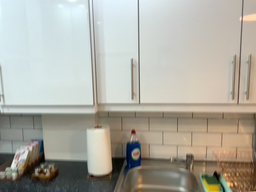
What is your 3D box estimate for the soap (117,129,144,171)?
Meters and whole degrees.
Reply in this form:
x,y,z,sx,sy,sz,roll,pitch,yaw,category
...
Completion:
x,y,z,sx,sy,sz,roll,pitch,yaw,category
0.020,0.380,1.520,0.160,0.240,0.110,-6,10,-35,soap
